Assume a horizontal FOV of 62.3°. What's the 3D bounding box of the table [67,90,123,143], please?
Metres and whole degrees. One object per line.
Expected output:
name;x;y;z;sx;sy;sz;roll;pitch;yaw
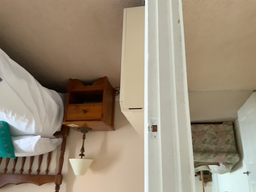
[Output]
table;-0.340;0.240;2.350;0.470;0.480;0.400;-3;159;12

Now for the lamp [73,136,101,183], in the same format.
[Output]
lamp;-0.430;0.690;2.290;0.190;0.460;0.230;-3;159;12

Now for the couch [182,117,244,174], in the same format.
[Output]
couch;1.450;1.000;3.960;0.760;0.810;1.540;-3;159;11
